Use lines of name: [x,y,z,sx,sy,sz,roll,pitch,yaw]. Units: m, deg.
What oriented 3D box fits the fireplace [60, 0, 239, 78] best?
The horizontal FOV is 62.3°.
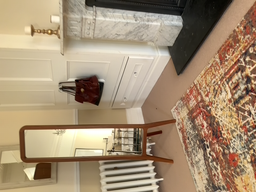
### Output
fireplace: [0.140,-0.980,1.590,1.770,1.240,0.740,114,151,-54]
